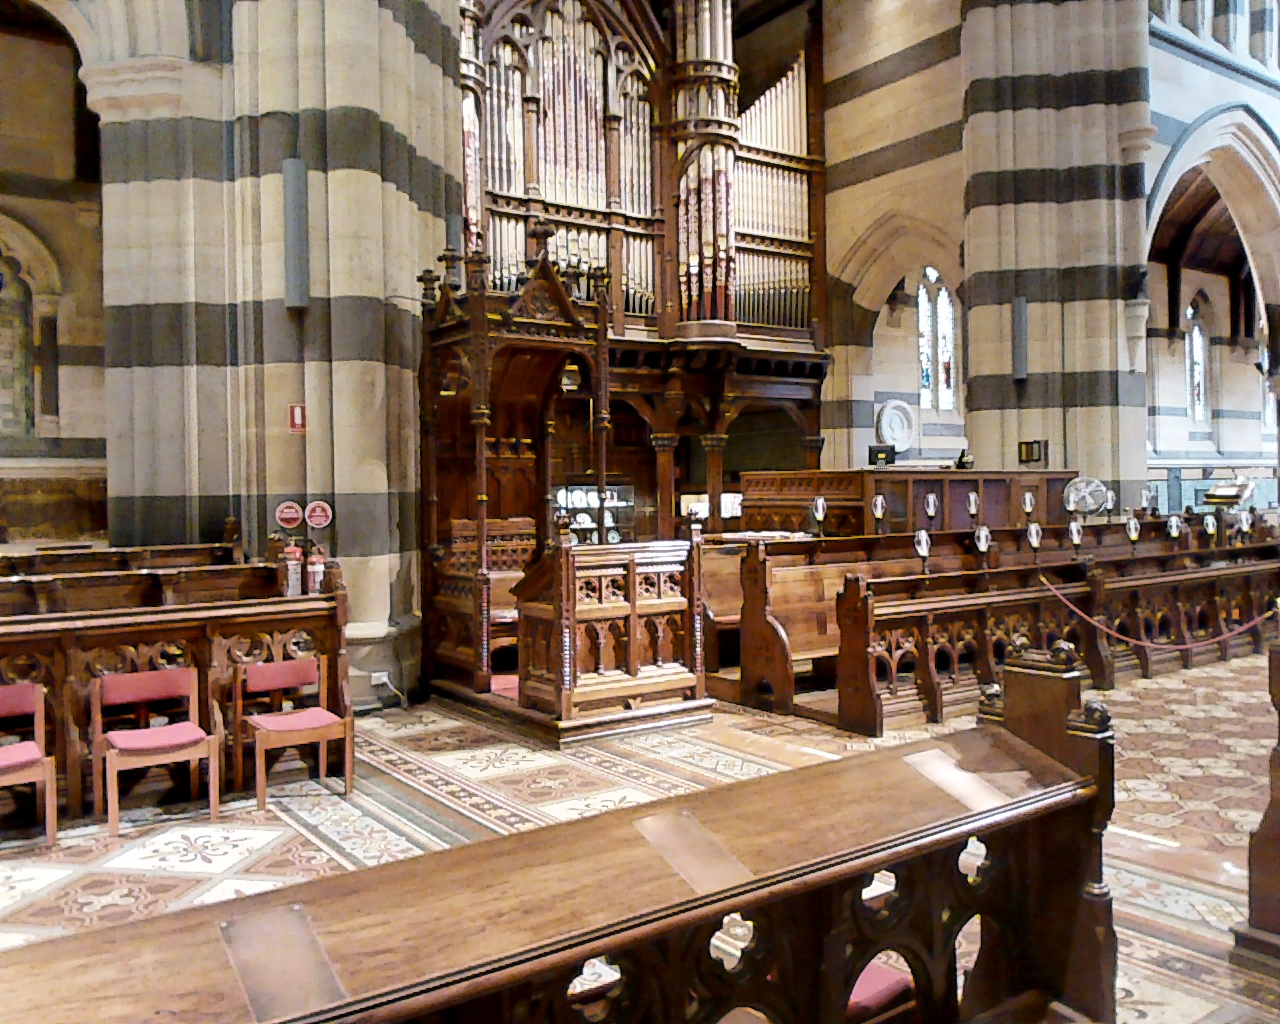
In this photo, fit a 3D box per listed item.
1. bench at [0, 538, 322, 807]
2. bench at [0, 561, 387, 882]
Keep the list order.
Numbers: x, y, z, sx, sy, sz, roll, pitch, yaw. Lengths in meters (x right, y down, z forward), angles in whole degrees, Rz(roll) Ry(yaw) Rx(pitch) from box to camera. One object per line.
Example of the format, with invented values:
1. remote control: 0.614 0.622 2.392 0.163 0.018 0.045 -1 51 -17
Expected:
1. bench: -4.079 1.000 6.620 3.899 1.450 0.990 -3 1 -35
2. bench: -3.369 1.100 5.600 3.879 1.400 0.900 -3 1 -35
